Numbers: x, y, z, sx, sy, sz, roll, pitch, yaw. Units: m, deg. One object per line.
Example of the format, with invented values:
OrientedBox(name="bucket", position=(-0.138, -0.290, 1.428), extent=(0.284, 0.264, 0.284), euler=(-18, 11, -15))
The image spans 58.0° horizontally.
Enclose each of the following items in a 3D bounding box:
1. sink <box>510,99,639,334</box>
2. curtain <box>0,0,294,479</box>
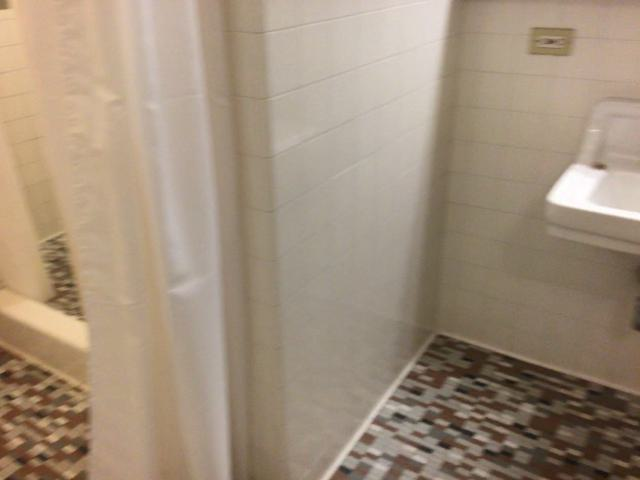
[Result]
OrientedBox(name="sink", position=(0.830, -0.070, 1.390), extent=(0.560, 0.420, 0.490), euler=(13, 27, 30))
OrientedBox(name="curtain", position=(-0.330, -0.050, 1.030), extent=(0.340, 1.660, 0.390), euler=(13, 27, 30))
